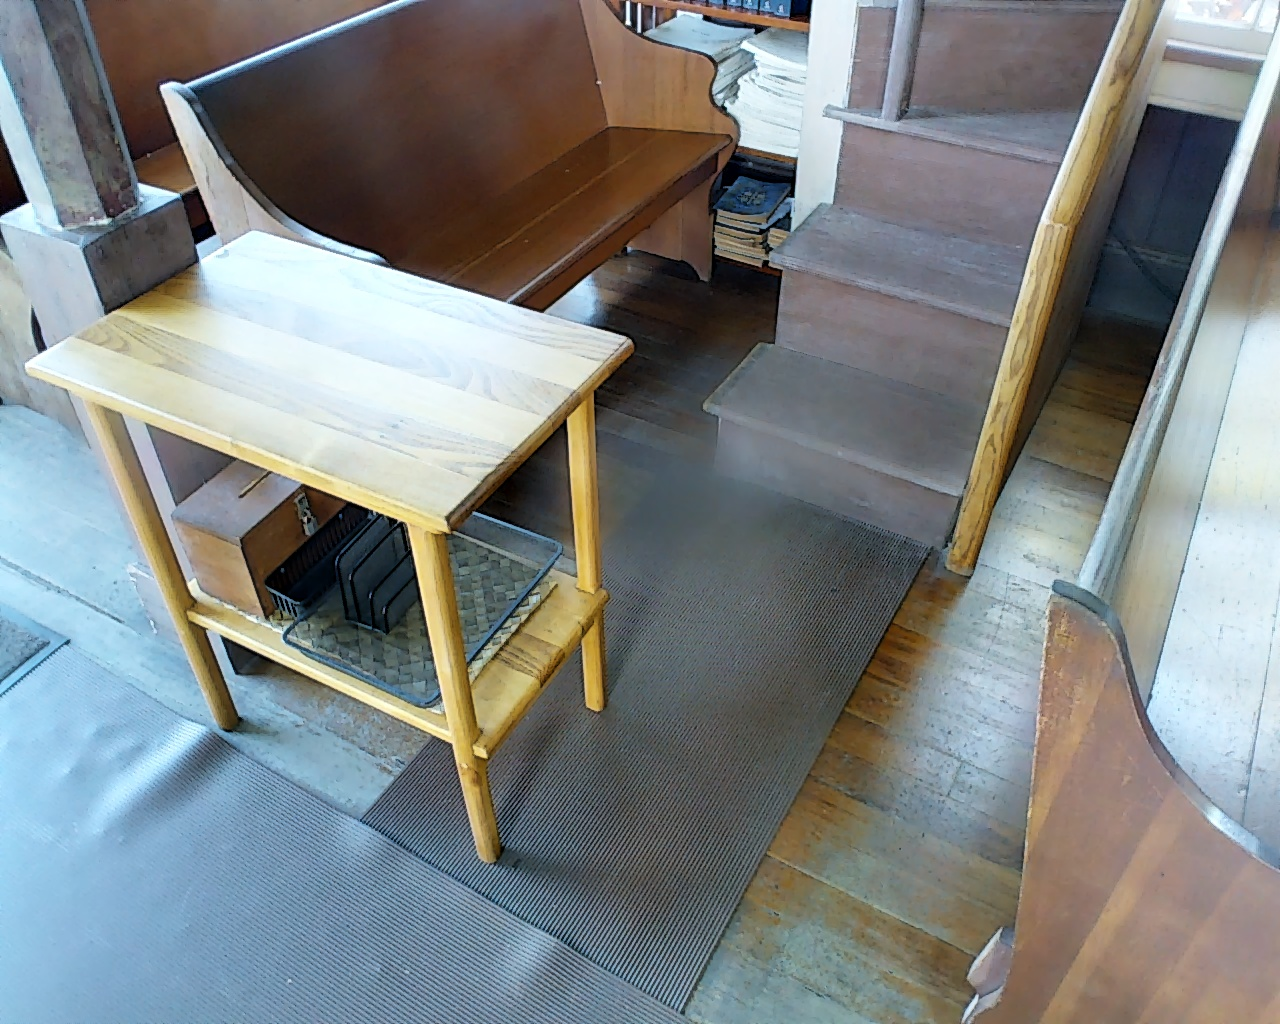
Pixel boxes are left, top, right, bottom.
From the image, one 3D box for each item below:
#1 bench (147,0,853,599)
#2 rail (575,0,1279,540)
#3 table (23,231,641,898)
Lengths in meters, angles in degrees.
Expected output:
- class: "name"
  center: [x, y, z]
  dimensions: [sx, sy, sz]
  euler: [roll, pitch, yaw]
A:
- class: "bench"
  center: [-0.180, -0.680, 2.490]
  dimensions: [0.770, 0.880, 1.400]
  euler: [21, 45, 23]
- class: "rail"
  center: [0.660, -0.730, 2.160]
  dimensions: [1.380, 0.920, 0.730]
  euler: [21, 45, 23]
- class: "table"
  center: [-0.410, 0.070, 1.690]
  dimensions: [0.690, 0.740, 0.450]
  euler: [21, 45, 23]
